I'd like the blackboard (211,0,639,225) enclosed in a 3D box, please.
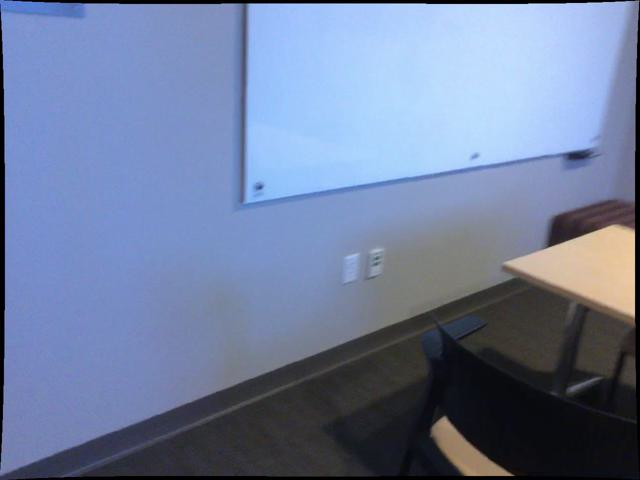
[{"bbox_3d":[0.719,-0.942,2.410,2.538,1.372,0.200,-13,27,-38],"label":"blackboard"}]

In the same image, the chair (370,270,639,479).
[{"bbox_3d":[0.489,0.391,1.310,0.490,0.391,0.520,-13,27,-38],"label":"chair"}]
